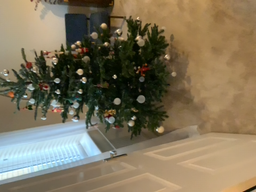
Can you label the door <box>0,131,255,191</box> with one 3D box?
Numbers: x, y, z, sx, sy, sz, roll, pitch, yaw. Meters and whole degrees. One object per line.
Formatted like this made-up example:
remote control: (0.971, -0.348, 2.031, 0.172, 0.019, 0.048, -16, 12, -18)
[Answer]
door: (-0.010, 0.370, 1.010, 0.870, 1.890, 0.050, -15, 82, 62)
